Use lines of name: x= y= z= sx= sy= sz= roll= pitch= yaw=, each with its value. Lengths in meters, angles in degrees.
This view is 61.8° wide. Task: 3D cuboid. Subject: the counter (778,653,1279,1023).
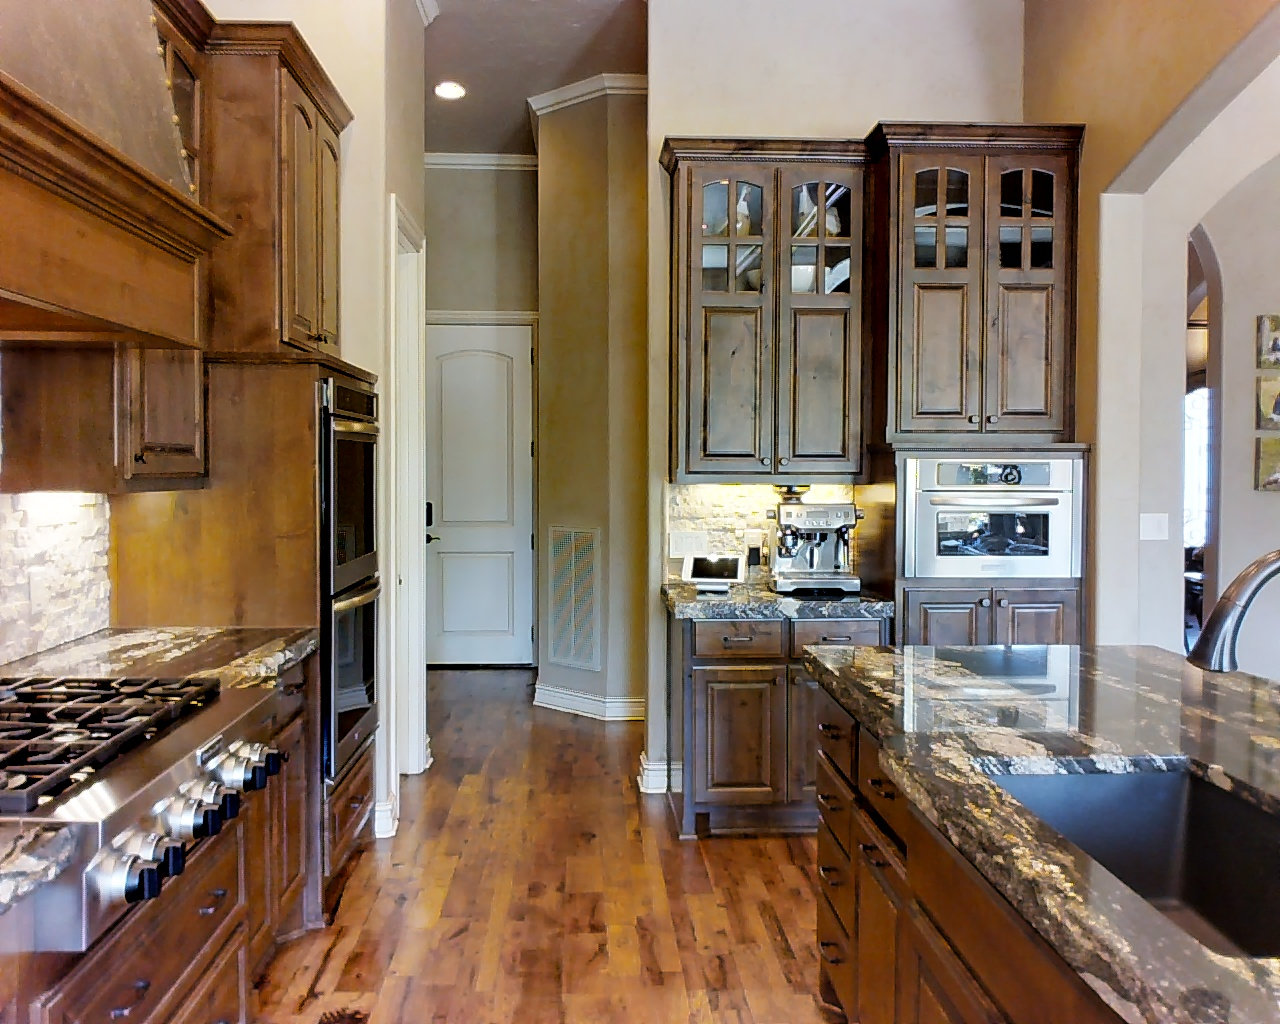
counter: x=1.040 y=0.520 z=1.490 sx=1.160 sy=0.180 sz=3.050 roll=0 pitch=1 yaw=-3

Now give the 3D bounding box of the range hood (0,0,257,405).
range hood: x=-1.020 y=-0.910 z=1.940 sx=0.190 sy=1.310 sz=1.460 roll=0 pitch=1 yaw=-3
